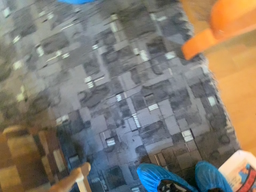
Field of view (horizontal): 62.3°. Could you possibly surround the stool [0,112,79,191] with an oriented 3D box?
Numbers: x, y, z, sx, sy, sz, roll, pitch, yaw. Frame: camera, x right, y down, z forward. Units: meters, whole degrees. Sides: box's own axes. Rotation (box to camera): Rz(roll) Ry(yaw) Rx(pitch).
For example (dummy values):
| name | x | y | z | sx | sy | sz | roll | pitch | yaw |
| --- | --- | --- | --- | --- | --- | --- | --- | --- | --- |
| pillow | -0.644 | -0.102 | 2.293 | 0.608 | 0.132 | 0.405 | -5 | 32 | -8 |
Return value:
| name | x | y | z | sx | sy | sz | roll | pitch | yaw |
| --- | --- | --- | --- | --- | --- | --- | --- | --- | --- |
| stool | -0.510 | 0.280 | 0.850 | 0.460 | 0.360 | 0.280 | -20 | 86 | 4 |
